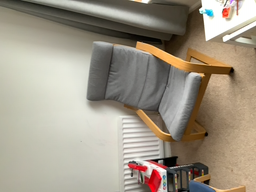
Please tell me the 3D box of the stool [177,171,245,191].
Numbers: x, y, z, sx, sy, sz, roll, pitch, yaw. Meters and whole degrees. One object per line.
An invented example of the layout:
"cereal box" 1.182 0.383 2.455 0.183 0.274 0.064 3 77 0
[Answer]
"stool" 0.650 0.850 1.680 0.430 0.280 0.370 165 104 -65
